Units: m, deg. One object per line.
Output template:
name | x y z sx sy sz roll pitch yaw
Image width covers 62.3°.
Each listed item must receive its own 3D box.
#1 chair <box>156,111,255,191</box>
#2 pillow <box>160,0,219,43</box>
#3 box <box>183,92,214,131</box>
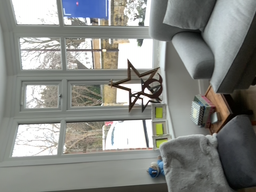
chair | 0.720 0.490 1.720 0.670 0.790 0.480 102 165 -59
pillow | 0.520 -0.770 1.850 0.150 0.460 0.490 -42 -39 -36
box | 0.750 0.160 2.300 0.350 0.140 0.280 -106 17 -64
